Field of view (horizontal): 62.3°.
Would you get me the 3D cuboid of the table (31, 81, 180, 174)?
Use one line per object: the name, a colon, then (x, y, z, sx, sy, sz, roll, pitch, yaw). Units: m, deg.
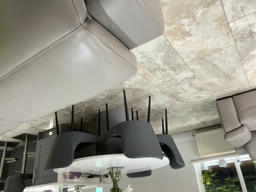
table: (-0.230, 0.650, 3.180, 1.440, 0.750, 1.610, -18, 151, 26)

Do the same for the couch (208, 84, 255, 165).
couch: (1.920, 0.400, 2.940, 1.180, 0.810, 1.110, -18, 151, 26)

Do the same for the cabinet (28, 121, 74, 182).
cabinet: (-1.230, 0.920, 3.450, 0.590, 0.840, 0.340, -18, 151, 26)
